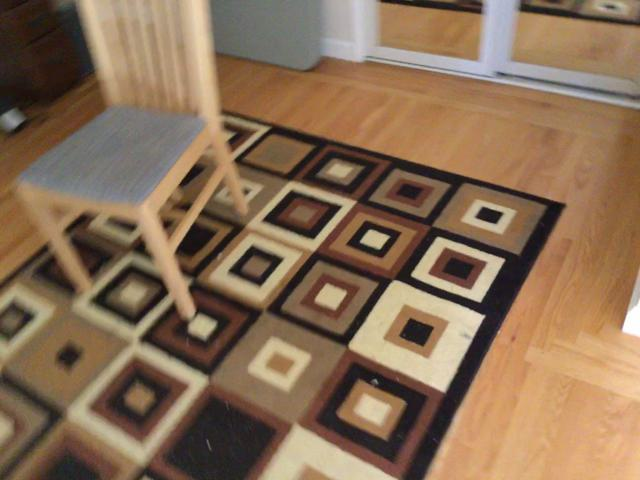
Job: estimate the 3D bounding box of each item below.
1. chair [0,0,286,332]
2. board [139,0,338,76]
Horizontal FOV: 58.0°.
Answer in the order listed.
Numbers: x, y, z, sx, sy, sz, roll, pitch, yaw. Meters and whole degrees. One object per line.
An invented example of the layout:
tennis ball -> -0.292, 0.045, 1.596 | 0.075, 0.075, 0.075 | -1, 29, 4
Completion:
chair -> -0.520, -0.330, 1.650 | 0.500, 0.940, 0.630 | 13, 47, 20
board -> -0.440, -1.230, 2.630 | 1.020, 0.770, 0.190 | 19, 50, 25
